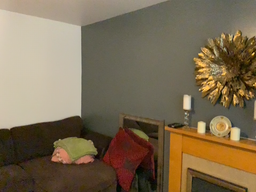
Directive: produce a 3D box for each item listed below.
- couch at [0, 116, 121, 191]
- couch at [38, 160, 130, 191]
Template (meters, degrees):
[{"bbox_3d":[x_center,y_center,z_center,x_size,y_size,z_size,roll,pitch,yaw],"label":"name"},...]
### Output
[{"bbox_3d":[-1.260,0.830,2.450,2.240,0.860,0.990,-2,6,-44],"label":"couch"},{"bbox_3d":[-0.440,1.070,2.230,0.790,0.460,0.510,-3,5,-44],"label":"couch"}]
